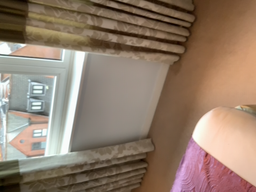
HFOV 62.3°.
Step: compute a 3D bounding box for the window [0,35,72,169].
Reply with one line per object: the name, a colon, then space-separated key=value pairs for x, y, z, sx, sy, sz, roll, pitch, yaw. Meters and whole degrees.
window: x=-1.090 y=0.100 z=1.590 sx=0.100 sy=1.160 sz=1.120 roll=40 pitch=122 yaw=48
